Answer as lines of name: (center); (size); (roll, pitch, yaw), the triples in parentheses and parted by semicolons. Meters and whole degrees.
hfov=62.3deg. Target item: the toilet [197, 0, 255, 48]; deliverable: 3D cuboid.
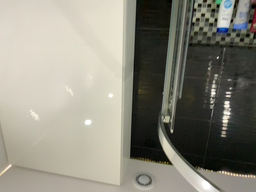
toilet: (0.750, -0.370, 1.060); (0.730, 0.250, 0.100); (5, -158, 7)
